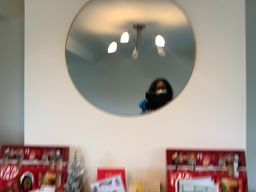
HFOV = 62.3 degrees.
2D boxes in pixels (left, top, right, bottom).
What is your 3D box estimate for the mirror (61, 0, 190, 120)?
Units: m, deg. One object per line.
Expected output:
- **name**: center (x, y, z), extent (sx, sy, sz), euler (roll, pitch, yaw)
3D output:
- **mirror**: center (-0.020, -0.220, 1.120), extent (0.670, 0.680, 0.060), euler (0, 0, 6)
